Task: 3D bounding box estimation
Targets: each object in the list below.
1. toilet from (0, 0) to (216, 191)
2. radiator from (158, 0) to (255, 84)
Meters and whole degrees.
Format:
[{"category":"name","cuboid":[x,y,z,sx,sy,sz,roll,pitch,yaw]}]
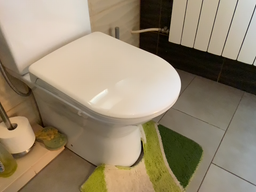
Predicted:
[{"category":"toilet","cuboid":[-0.110,-0.100,0.780,0.610,0.790,0.380,25,48,27]},{"category":"radiator","cuboid":[0.660,-0.390,0.960,1.050,0.690,0.150,25,47,26]}]
